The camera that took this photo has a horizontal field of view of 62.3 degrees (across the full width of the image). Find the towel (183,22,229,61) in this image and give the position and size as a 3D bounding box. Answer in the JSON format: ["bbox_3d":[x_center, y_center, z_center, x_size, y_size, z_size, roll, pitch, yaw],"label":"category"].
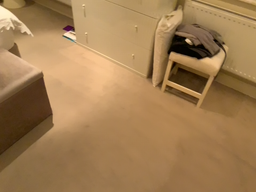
[{"bbox_3d":[0.630,-0.450,1.710,0.250,0.100,0.320,28,49,19],"label":"towel"}]

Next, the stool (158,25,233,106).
[{"bbox_3d":[0.600,-0.280,1.950,0.430,0.490,0.380,27,49,18],"label":"stool"}]
